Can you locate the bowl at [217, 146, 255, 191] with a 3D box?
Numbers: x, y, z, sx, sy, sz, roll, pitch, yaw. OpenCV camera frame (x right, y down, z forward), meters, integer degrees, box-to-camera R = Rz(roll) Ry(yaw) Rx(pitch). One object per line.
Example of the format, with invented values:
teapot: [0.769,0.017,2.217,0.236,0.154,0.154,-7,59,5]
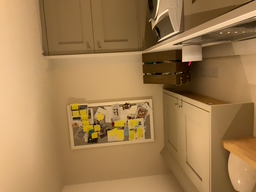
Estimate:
bowl: [0.810,0.540,1.490,0.290,0.310,0.170,-4,-171,-3]

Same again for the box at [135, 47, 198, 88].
box: [0.400,-0.320,2.350,0.510,0.370,0.500,-6,-171,-15]
